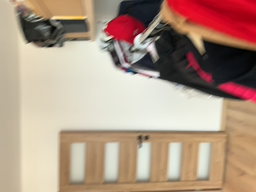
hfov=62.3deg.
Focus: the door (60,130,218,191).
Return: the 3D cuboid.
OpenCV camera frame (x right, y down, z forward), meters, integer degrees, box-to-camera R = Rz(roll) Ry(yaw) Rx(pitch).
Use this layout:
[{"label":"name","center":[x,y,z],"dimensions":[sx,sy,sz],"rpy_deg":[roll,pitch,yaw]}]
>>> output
[{"label":"door","center":[0.170,0.810,2.610],"dimensions":[0.130,1.900,0.760],"rpy_deg":[-148,61,-79]}]
